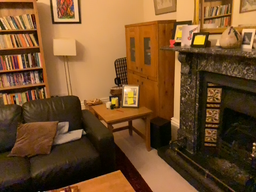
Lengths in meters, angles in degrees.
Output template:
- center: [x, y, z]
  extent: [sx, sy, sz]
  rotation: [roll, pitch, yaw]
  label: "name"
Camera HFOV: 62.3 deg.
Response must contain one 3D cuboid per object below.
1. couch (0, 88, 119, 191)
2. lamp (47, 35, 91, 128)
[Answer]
- center: [-1.020, 0.510, 2.100]
  extent: [1.540, 0.760, 1.060]
  rotation: [-9, 18, -24]
  label: "couch"
- center: [-0.960, -0.250, 3.500]
  extent: [0.480, 1.450, 0.340]
  rotation: [-11, 19, -28]
  label: "lamp"
